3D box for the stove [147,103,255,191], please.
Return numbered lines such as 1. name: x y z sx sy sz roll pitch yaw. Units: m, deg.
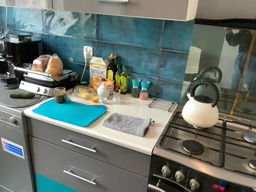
1. stove: 0.490 0.290 1.130 0.590 0.160 0.620 14 25 21
